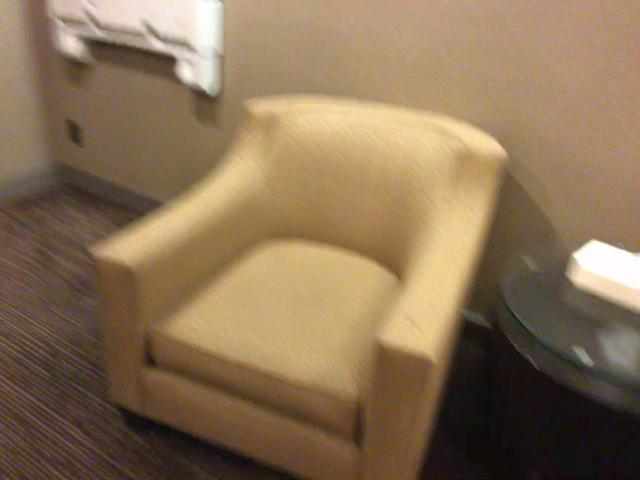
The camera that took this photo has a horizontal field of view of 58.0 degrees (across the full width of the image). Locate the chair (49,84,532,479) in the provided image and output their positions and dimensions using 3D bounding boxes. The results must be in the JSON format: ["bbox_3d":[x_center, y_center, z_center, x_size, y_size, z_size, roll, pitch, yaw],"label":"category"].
[{"bbox_3d":[0.010,0.100,1.660,0.910,0.840,0.980,13,26,19],"label":"chair"}]

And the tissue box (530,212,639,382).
[{"bbox_3d":[0.720,0.130,1.330,0.340,0.240,0.300,18,28,28],"label":"tissue box"}]

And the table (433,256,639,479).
[{"bbox_3d":[0.630,0.430,1.340,0.570,0.550,0.390,18,28,28],"label":"table"}]
